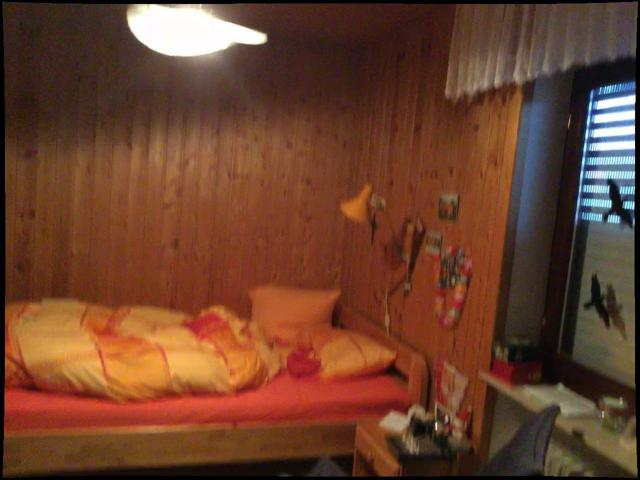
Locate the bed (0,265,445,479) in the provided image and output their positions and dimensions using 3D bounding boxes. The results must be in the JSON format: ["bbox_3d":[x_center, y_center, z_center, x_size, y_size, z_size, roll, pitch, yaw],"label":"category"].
[{"bbox_3d":[-0.719,0.701,3.200,2.258,0.801,1.510,2,7,-15],"label":"bed"}]

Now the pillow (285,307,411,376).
[{"bbox_3d":[0.130,0.571,3.380,0.510,0.160,0.790,2,7,-15],"label":"pillow"}]

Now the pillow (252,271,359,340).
[{"bbox_3d":[-0.110,0.430,3.850,0.599,0.350,0.440,2,7,-15],"label":"pillow"}]
